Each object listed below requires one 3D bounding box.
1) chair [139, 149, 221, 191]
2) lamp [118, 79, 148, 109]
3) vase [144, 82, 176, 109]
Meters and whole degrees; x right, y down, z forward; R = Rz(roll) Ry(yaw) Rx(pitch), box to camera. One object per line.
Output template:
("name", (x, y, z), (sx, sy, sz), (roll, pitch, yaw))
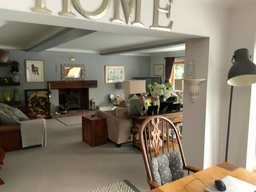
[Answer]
("chair", (0.410, 0.960, 1.770), (0.440, 0.820, 0.480), (-5, 9, -36))
("lamp", (0.090, -0.060, 4.210), (0.480, 0.550, 0.340), (-4, 8, -30))
("vase", (0.670, -0.030, 4.470), (0.460, 0.490, 0.480), (-4, 8, -30))
